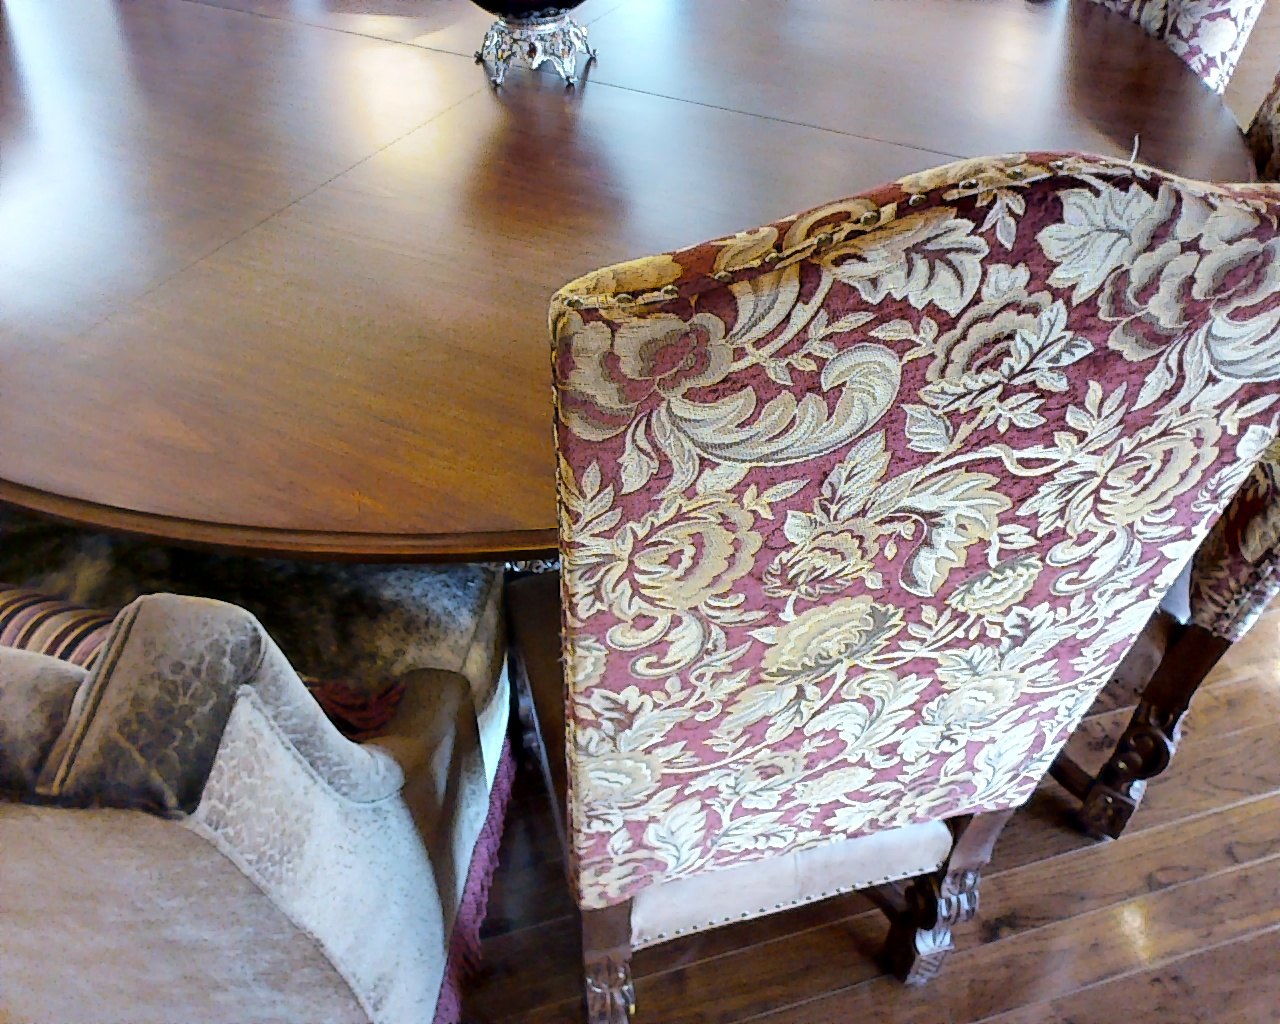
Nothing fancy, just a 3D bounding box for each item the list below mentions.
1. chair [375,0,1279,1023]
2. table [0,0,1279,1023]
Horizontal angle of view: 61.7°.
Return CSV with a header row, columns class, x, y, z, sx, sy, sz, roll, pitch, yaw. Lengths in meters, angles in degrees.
class,x,y,z,sx,sy,sz,roll,pitch,yaw
chair,0.140,0.100,1.290,0.630,1.370,0.770,-11,43,-12
table,-0.220,-0.590,2.420,2.900,0.790,2.750,20,46,21
